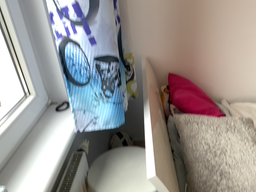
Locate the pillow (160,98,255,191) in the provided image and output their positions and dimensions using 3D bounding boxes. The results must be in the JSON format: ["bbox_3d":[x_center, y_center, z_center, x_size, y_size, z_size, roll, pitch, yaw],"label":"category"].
[{"bbox_3d":[0.410,0.270,1.000,0.440,0.290,0.470,-5,30,1],"label":"pillow"}]

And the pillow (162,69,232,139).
[{"bbox_3d":[0.430,0.040,1.460,0.350,0.280,0.430,-3,30,5],"label":"pillow"}]
